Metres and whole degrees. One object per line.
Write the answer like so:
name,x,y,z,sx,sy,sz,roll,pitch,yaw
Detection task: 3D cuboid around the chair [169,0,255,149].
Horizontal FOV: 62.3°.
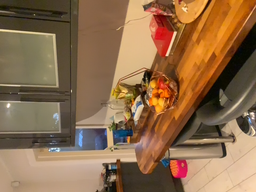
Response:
chair,0.790,-0.100,1.150,0.560,0.870,0.530,108,159,-47

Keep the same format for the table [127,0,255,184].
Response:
table,0.660,-0.010,1.610,1.780,0.910,0.650,107,159,-46

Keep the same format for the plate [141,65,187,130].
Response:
plate,0.210,0.010,1.360,0.280,0.140,0.310,106,160,-44

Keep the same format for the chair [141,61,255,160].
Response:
chair,0.640,0.130,1.740,0.560,0.880,0.530,108,159,-47
